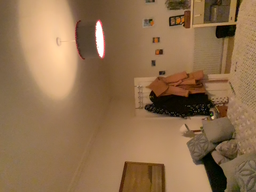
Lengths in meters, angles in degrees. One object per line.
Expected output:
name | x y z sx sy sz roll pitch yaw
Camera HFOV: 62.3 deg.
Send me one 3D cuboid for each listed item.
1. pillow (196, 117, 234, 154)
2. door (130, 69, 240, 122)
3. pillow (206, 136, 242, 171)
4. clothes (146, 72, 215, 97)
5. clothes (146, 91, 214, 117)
pillow | 1.240 0.550 3.040 0.360 0.380 0.280 -32 -52 -43
door | 1.120 0.010 4.300 0.110 2.110 1.000 -62 -31 -78
pillow | 1.280 0.750 2.830 0.350 0.360 0.170 -39 -48 -45
clothes | 1.010 -0.230 4.150 0.180 1.290 0.410 -60 -32 -78
clothes | 1.010 0.160 4.220 0.210 1.290 0.450 -46 -47 -81
